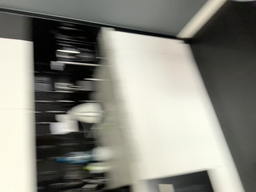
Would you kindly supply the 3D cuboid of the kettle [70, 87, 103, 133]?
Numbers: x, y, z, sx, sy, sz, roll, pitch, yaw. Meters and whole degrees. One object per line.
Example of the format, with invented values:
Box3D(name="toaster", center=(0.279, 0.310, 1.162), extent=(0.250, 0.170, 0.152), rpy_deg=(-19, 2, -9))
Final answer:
Box3D(name="kettle", center=(-0.370, 0.120, 1.860), extent=(0.190, 0.210, 0.340), rpy_deg=(-47, 48, 53))
